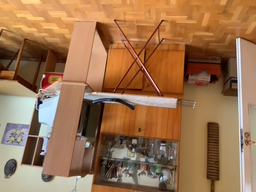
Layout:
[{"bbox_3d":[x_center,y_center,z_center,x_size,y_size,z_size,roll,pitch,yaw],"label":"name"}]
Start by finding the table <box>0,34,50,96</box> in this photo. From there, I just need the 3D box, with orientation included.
[{"bbox_3d":[-1.910,-0.430,3.010,1.260,0.630,0.610,4,163,11],"label":"table"}]

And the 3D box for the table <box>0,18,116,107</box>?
[{"bbox_3d":[-0.750,-0.360,2.650,0.980,0.680,0.950,5,163,8],"label":"table"}]
